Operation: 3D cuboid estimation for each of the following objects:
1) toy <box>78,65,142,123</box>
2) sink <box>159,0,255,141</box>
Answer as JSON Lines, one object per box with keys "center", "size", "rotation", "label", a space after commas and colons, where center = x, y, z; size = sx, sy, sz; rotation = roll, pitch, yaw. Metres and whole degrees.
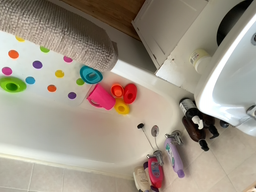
{"center": [-0.120, 0.000, 1.390], "size": [0.300, 0.090, 0.300], "rotation": [22, 119, -27], "label": "toy"}
{"center": [0.450, -0.170, 0.670], "size": [0.390, 0.220, 0.580], "rotation": [20, 120, -26], "label": "sink"}
